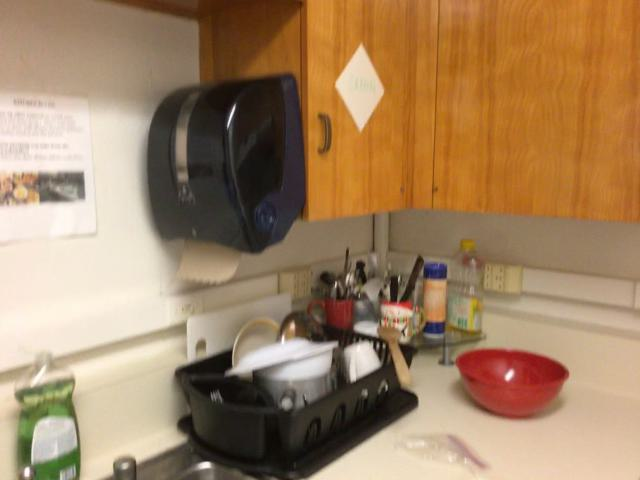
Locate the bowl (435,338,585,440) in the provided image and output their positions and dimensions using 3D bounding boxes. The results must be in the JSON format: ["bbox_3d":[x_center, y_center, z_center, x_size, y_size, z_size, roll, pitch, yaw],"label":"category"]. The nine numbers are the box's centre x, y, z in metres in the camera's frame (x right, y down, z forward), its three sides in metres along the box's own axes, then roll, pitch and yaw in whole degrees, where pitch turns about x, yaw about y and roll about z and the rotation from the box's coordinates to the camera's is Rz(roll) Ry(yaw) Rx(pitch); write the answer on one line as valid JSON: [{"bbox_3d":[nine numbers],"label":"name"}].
[{"bbox_3d":[0.470,0.350,1.420,0.260,0.100,0.290,6,10,39],"label":"bowl"}]

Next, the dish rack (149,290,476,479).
[{"bbox_3d":[0.010,0.310,1.330,0.450,0.220,0.620,6,10,39],"label":"dish rack"}]
